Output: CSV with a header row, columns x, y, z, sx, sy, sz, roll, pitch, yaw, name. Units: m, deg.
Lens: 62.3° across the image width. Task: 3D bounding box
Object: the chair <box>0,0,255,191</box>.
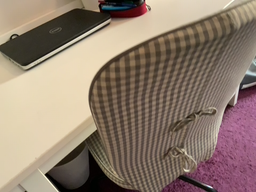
x,y,z,sx,sy,sz,roll,pitch,yaw,name
0.070,0.080,0.790,0.660,0.930,0.590,-27,42,-14,chair
